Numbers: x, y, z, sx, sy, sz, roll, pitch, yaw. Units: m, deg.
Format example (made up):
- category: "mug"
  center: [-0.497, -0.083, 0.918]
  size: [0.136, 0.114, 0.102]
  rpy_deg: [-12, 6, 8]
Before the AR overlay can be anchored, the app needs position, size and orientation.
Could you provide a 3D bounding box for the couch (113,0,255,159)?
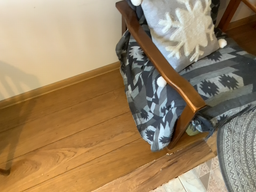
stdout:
- category: "couch"
  center: [0.370, -0.230, 1.070]
  size: [0.670, 0.760, 0.690]
  rpy_deg: [-21, 63, -14]
